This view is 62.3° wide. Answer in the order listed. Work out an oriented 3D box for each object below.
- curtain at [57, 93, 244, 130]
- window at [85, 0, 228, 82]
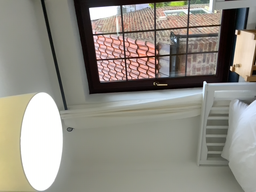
[{"bbox_3d":[0.210,0.170,2.220,0.090,1.860,0.320,-86,-7,-66],"label":"curtain"},{"bbox_3d":[0.290,-0.590,2.240,0.060,1.380,0.850,-86,-7,-65],"label":"window"}]
